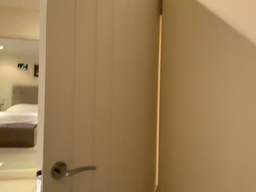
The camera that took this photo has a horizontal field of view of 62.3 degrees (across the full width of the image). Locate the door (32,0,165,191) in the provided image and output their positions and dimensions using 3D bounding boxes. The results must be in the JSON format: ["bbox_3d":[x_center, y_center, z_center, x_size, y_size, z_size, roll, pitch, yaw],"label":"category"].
[{"bbox_3d":[-0.060,0.280,0.970,0.060,2.000,0.760,3,1,35],"label":"door"}]
